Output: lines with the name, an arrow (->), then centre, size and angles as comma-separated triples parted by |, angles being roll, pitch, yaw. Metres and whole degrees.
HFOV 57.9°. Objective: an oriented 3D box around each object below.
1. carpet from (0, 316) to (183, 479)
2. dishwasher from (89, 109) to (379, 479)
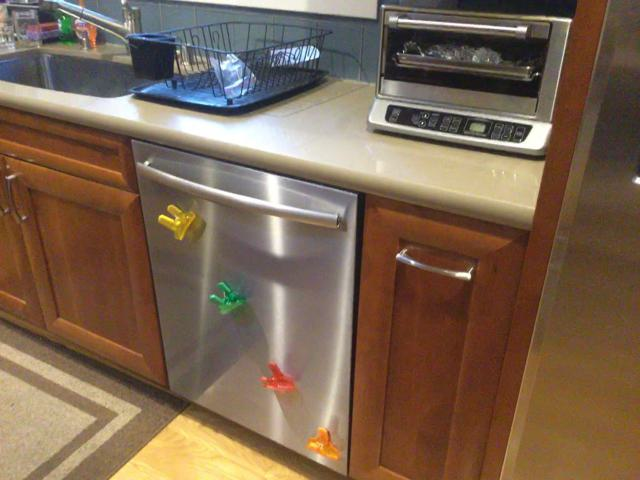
carpet -> -1.050, 0.500, 1.650 | 1.070, 0.070, 0.710 | 17, 30, 22
dishwasher -> -0.220, 0.160, 1.360 | 0.620, 0.810, 0.120 | 17, 30, 22
